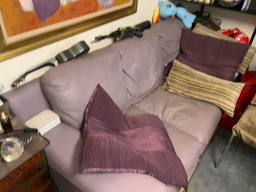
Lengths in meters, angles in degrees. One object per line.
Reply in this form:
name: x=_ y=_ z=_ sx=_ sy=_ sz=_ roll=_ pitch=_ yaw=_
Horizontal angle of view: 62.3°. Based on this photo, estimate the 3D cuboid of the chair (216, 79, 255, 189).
chair: x=1.080 y=0.150 z=1.570 sx=0.410 sy=0.960 sz=0.570 roll=25 pitch=41 yaw=26
